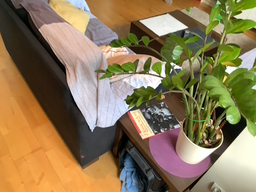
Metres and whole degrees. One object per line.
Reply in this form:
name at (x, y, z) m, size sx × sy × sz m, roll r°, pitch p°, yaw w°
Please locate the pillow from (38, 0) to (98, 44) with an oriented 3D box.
pillow at (-0.550, -0.820, 2.060) m, size 0.200 × 0.420 × 0.450 m, roll -29°, pitch 32°, yaw 28°
